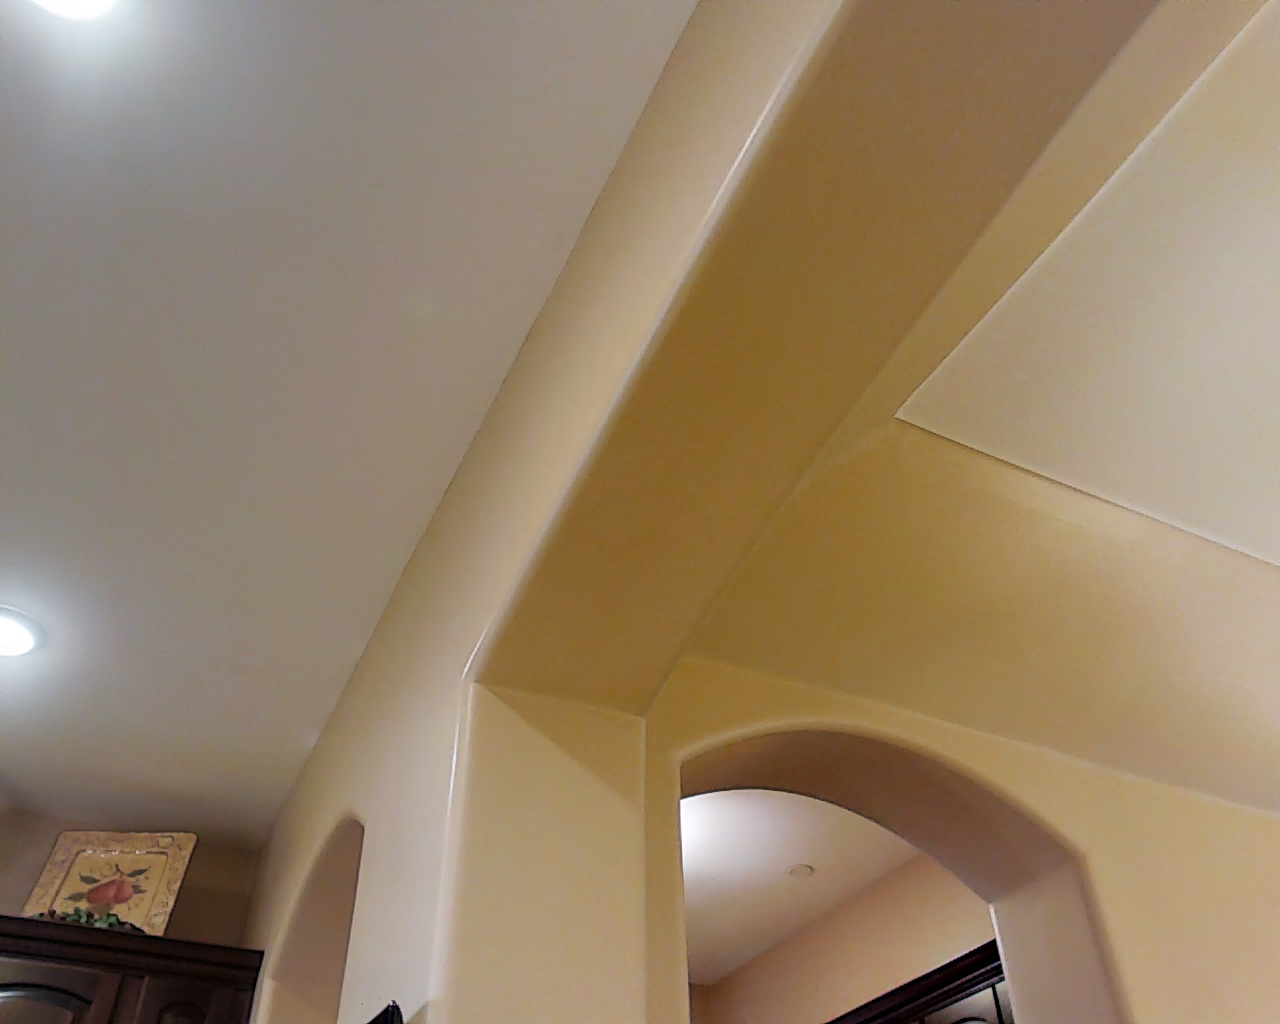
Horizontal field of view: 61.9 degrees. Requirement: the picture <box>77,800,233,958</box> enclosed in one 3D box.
[{"bbox_3d":[-1.380,1.050,3.050,0.310,0.320,0.240,17,-44,-19],"label":"picture"}]
